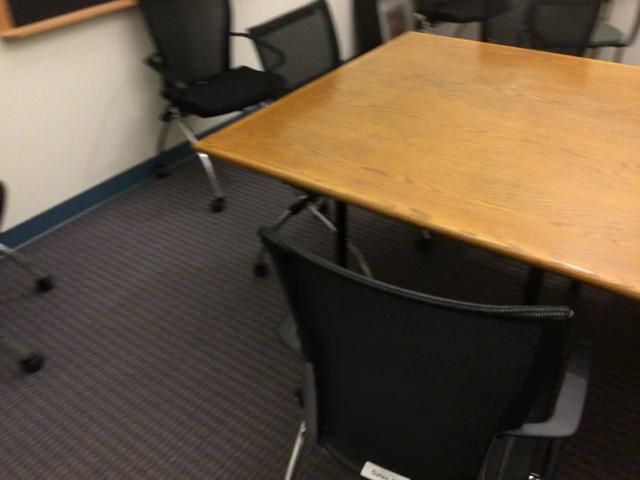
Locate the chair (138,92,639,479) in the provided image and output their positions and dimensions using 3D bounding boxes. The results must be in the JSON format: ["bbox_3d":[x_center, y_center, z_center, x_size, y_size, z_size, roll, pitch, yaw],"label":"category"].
[{"bbox_3d":[0.180,0.310,1.220,0.560,0.940,0.670,25,46,34],"label":"chair"}]

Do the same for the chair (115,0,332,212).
[{"bbox_3d":[-0.410,-0.730,2.690,0.660,0.840,0.600,-28,43,-28],"label":"chair"}]

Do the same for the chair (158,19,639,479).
[{"bbox_3d":[0.890,0.150,1.520,2.380,0.750,1.260,25,46,34],"label":"chair"}]
